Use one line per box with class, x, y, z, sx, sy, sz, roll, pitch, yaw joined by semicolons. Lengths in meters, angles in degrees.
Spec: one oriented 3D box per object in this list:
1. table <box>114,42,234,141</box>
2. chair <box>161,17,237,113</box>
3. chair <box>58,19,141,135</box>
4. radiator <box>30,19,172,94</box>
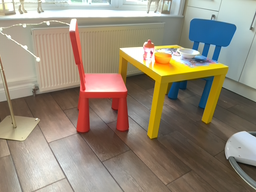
table;0.290;-0.090;1.640;0.580;0.470;0.620;-8;32;-24
chair;0.620;-0.300;1.880;0.390;0.670;0.460;20;32;24
chair;-0.200;-0.130;1.430;0.430;0.650;0.400;0;29;-10
radiator;-0.150;-0.410;1.960;1.330;0.550;0.080;-13;34;-32
